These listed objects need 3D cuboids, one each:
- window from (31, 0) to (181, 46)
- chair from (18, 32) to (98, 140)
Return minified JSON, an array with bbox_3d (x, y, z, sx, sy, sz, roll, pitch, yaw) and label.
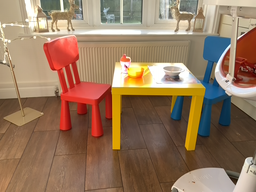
[{"bbox_3d":[-0.190,-1.320,2.100,1.520,1.590,0.200,-3,25,-9],"label":"window"},{"bbox_3d":[-0.470,-0.090,1.580,0.360,0.670,0.390,7,25,11],"label":"chair"}]
